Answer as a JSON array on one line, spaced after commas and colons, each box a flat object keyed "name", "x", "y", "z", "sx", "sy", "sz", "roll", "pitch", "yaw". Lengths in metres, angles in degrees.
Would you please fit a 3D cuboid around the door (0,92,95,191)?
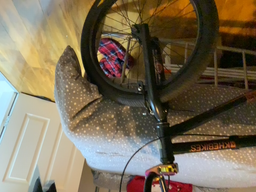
[{"name": "door", "x": -0.820, "y": 0.980, "z": 1.760, "sx": 0.730, "sy": 2.000, "sz": 0.040, "roll": 21, "pitch": 153, "yaw": -24}]
